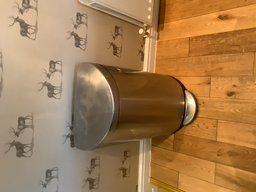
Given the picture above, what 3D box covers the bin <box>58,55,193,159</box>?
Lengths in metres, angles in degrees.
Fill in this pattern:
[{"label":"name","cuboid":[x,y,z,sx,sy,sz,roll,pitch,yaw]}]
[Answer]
[{"label":"bin","cuboid":[0.030,0.040,1.200,0.330,0.720,0.410,6,93,43]}]
